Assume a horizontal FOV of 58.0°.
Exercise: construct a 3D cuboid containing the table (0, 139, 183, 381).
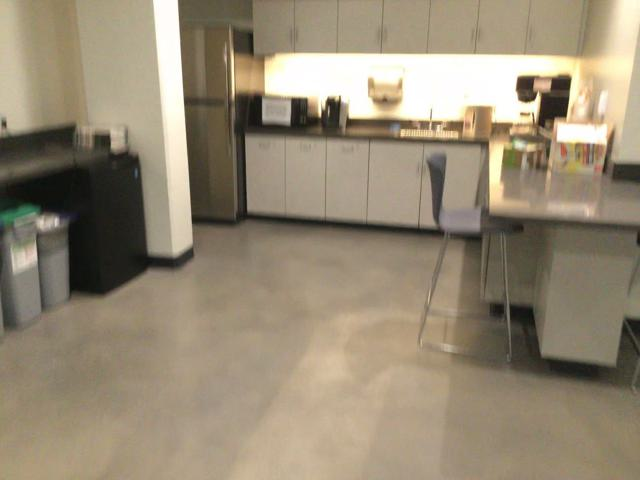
[{"bbox_3d":[-1.640,0.000,3.250,0.810,0.820,1.930,6,19,15],"label":"table"}]
